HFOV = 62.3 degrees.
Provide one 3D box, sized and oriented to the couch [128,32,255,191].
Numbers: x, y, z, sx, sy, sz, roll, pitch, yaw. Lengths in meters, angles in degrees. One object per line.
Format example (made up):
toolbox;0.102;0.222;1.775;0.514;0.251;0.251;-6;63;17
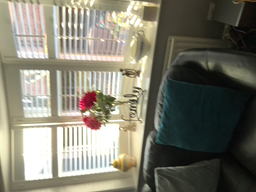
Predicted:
couch;0.640;0.610;1.750;1.190;0.850;2.020;-126;38;-63
